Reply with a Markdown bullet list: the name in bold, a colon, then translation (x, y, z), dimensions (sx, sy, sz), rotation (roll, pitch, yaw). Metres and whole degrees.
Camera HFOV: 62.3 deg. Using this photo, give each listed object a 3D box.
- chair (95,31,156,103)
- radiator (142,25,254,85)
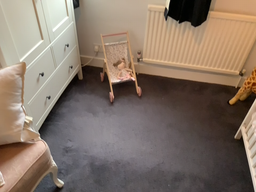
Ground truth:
- **chair**: translation (-0.050, -0.300, 2.090), dimensions (0.410, 0.430, 0.520), rotation (-12, 44, -16)
- **radiator**: translation (0.620, -0.390, 2.060), dimensions (0.940, 0.470, 0.060), rotation (10, 43, 8)
